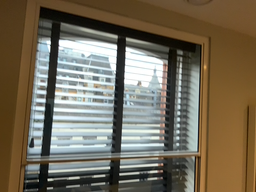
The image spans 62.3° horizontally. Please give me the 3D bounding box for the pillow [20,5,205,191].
[{"bbox_3d":[-0.010,0.410,1.280,1.130,1.640,0.090,5,-5,-26],"label":"pillow"}]
